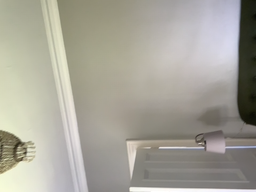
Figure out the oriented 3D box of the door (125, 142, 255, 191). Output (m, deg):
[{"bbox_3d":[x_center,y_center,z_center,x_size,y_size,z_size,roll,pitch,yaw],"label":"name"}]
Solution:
[{"bbox_3d":[1.050,0.740,2.280,0.830,2.080,0.090,-65,-29,-73],"label":"door"}]
